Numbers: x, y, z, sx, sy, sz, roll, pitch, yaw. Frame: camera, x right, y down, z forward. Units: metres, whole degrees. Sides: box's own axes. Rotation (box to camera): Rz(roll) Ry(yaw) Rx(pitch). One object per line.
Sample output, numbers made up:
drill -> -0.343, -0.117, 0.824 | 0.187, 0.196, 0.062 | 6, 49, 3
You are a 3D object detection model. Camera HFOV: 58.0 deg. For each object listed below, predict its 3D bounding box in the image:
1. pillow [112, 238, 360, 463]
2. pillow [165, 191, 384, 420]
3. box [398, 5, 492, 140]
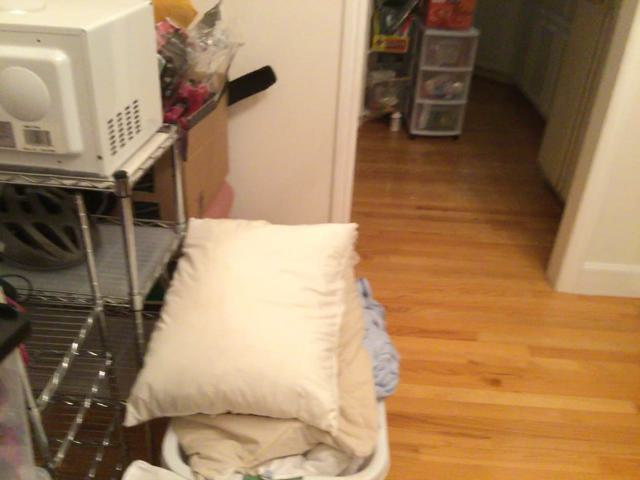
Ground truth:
pillow -> -0.160, 0.230, 1.370 | 0.490, 0.100, 0.530 | -16, 27, 11
pillow -> -0.070, 0.110, 1.290 | 0.380, 0.230, 0.540 | 1, 29, 2
box -> 0.770, -1.140, 3.790 | 0.470, 0.610, 1.100 | 3, 29, 6
